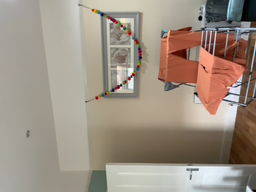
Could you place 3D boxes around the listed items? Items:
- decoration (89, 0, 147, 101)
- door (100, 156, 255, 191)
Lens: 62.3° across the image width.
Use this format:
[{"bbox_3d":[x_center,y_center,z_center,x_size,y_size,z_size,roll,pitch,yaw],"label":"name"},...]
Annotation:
[{"bbox_3d":[-0.140,-0.680,3.200,0.230,0.790,1.520,-89,0,-71],"label":"decoration"},{"bbox_3d":[0.690,1.250,2.870,0.210,2.080,0.870,-89,0,-68],"label":"door"}]
